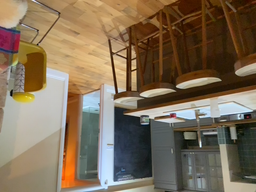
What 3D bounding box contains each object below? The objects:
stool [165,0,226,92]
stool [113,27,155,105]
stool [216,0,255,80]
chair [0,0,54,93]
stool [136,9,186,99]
[{"bbox_3d":[0.630,-0.510,2.020,0.360,0.830,0.360,14,160,-43],"label":"stool"},{"bbox_3d":[0.070,-0.350,2.630,0.360,0.830,0.360,14,160,-43],"label":"stool"},{"bbox_3d":[0.960,-0.600,1.650,0.360,0.830,0.360,14,160,-43],"label":"stool"},{"bbox_3d":[-1.150,-0.510,2.090,0.450,0.790,0.580,-12,161,40],"label":"chair"},{"bbox_3d":[0.340,-0.430,2.320,0.360,0.830,0.360,10,163,-34],"label":"stool"}]
